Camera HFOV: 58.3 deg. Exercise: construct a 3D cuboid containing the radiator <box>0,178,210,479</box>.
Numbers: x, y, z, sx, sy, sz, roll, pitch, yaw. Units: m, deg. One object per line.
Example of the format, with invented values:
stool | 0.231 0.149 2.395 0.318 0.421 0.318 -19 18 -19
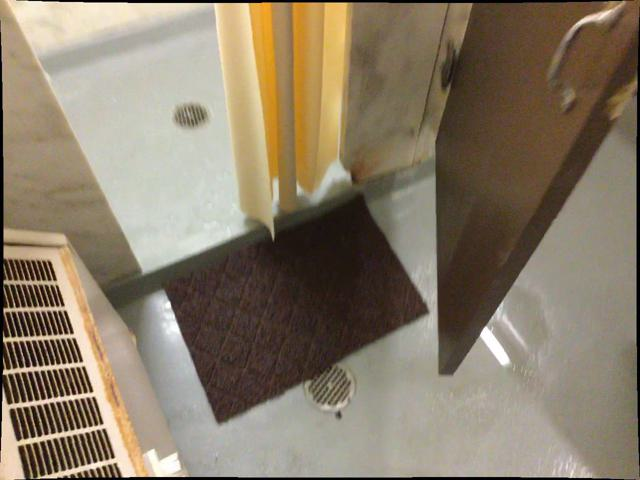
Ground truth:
radiator | -0.330 0.350 0.940 0.200 0.530 0.720 -25 61 -16
